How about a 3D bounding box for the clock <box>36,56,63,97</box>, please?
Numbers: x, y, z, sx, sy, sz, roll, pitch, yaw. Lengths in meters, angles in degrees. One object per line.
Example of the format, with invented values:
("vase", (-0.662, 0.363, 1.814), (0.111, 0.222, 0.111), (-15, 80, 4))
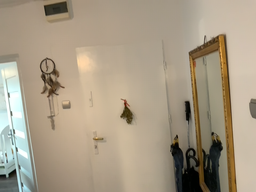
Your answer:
("clock", (-0.810, -0.200, 2.200), (0.220, 0.400, 0.030), (-6, 4, 0))
